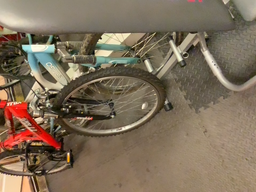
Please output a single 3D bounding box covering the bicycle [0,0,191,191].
[{"bbox_3d":[-0.650,0.190,1.420,1.750,0.950,0.650,-38,68,33],"label":"bicycle"}]
